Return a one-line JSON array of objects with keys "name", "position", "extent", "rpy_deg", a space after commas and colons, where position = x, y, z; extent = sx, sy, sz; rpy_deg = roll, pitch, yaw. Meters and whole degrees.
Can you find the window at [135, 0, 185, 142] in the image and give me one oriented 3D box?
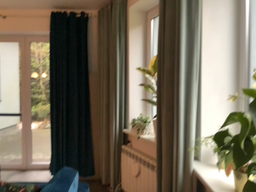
[{"name": "window", "position": [0.350, -0.380, 2.540], "extent": [0.200, 1.690, 0.690], "rpy_deg": [0, 3, -26]}]
